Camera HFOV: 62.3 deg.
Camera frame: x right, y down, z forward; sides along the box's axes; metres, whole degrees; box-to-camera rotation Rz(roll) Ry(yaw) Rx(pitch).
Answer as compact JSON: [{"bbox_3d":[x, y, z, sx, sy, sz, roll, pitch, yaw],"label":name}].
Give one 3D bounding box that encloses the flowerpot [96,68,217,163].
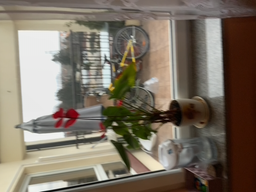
[{"bbox_3d":[0.150,0.080,1.200,0.260,0.600,0.430,176,90,-72],"label":"flowerpot"}]
